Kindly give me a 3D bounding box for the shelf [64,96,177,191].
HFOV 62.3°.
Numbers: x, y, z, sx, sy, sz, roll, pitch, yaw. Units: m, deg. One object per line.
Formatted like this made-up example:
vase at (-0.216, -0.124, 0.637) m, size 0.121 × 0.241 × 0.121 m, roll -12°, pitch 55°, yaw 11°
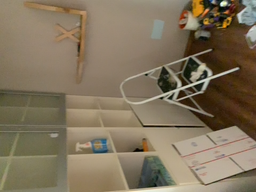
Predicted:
shelf at (-0.230, 0.470, 1.990) m, size 1.440 × 0.680 × 0.400 m, roll -126°, pitch 42°, yaw -62°
